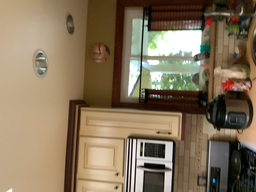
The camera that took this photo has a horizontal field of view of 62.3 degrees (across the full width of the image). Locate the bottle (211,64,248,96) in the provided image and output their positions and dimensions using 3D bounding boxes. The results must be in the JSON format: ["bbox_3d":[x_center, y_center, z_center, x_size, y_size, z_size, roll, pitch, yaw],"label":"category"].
[{"bbox_3d":[0.910,-0.140,1.920,0.200,0.240,0.260,6,-93,-84],"label":"bottle"}]
